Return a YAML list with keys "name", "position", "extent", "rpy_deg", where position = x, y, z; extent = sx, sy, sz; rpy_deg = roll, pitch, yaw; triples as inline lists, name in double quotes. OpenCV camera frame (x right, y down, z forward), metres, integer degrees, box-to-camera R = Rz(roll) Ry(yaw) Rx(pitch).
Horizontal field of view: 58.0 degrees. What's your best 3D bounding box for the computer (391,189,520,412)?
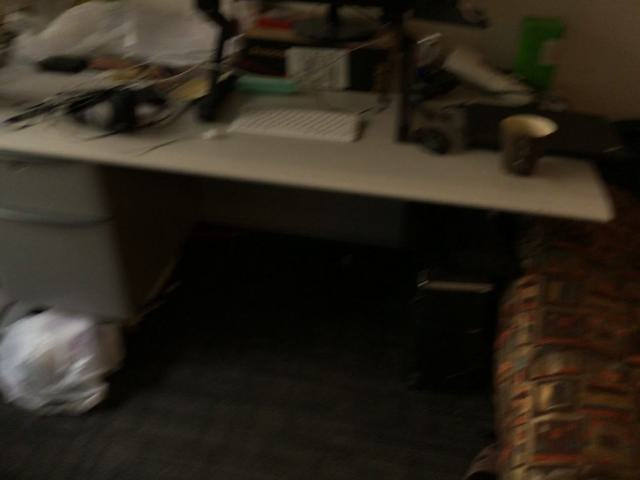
- name: "computer"
  position: [0.340, 0.150, 1.540]
  extent: [0.240, 0.430, 0.370]
  rpy_deg: [6, 32, 7]
